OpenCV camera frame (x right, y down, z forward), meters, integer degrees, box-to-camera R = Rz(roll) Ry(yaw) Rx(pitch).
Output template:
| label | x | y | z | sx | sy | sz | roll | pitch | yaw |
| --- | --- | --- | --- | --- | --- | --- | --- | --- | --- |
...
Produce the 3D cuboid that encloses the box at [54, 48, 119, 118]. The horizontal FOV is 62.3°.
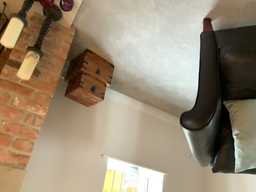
| label | x | y | z | sx | sy | sz | roll | pitch | yaw |
| --- | --- | --- | --- | --- | --- | --- | --- | --- | --- |
| box | -0.440 | -0.100 | 2.210 | 0.360 | 0.420 | 0.630 | 25 | 148 | -25 |
